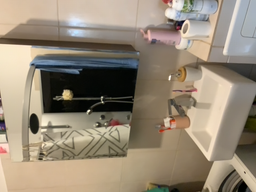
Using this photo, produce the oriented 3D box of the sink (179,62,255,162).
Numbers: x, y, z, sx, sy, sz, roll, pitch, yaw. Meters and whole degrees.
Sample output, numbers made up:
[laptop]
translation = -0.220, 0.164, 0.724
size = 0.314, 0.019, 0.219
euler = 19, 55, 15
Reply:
[sink]
translation = 0.470, 0.080, 1.180
size = 0.310, 0.170, 0.450
euler = -111, 24, -61
